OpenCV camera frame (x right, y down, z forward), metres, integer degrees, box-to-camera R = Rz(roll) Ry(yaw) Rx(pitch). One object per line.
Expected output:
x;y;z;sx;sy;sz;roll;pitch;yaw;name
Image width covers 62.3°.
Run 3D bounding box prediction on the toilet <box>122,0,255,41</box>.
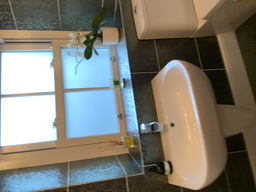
0.460;-0.690;1.340;0.640;0.850;0.400;133;131;-69;toilet
